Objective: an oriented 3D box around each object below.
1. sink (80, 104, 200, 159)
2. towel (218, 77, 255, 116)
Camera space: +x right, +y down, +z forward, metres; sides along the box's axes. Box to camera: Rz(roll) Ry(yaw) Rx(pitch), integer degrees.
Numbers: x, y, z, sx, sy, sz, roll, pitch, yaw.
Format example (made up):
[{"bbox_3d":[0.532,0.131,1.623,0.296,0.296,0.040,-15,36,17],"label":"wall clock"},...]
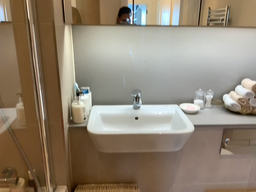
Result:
[{"bbox_3d":[0.050,0.180,1.230,0.570,0.130,0.430,0,18,-3],"label":"sink"},{"bbox_3d":[0.750,0.000,1.330,0.270,0.200,0.170,0,18,-3],"label":"towel"}]
